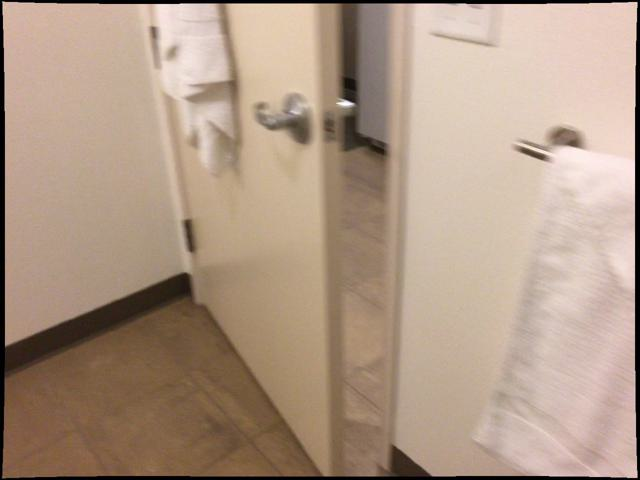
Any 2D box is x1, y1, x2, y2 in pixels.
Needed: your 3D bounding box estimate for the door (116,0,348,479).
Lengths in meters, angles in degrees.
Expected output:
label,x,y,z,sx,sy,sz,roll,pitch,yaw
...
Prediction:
label,x,y,z,sx,sy,sz,roll,pitch,yaw
door,-0.269,-0.120,1.570,0.100,1.293,1.040,-19,34,-26
